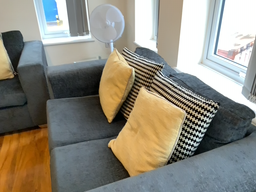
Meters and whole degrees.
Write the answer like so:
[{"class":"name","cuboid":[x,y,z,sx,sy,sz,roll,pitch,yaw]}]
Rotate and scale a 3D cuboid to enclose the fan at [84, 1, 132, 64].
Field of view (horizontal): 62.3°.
[{"class":"fan","cuboid":[-0.210,-0.800,2.630,0.450,0.670,0.420,5,29,11]}]
